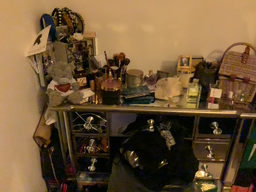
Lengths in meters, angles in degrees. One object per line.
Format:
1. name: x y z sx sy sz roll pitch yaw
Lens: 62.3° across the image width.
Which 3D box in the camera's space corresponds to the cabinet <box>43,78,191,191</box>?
1. cabinet: -0.050 0.330 1.440 0.750 0.770 0.440 2 27 3
